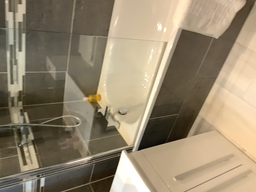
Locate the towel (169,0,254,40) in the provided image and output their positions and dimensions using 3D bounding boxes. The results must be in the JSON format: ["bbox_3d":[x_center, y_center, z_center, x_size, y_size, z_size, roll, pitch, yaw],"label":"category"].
[{"bbox_3d":[0.450,-0.450,1.100,0.090,0.460,0.270,47,132,42],"label":"towel"}]
